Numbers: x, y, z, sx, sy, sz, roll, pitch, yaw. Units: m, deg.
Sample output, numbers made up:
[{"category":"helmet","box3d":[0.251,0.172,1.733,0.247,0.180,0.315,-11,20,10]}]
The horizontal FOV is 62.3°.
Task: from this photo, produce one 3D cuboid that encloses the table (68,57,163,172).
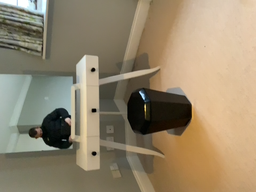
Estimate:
[{"category":"table","box3d":[-0.160,0.170,2.120,0.620,0.750,0.910,168,101,-64]}]
